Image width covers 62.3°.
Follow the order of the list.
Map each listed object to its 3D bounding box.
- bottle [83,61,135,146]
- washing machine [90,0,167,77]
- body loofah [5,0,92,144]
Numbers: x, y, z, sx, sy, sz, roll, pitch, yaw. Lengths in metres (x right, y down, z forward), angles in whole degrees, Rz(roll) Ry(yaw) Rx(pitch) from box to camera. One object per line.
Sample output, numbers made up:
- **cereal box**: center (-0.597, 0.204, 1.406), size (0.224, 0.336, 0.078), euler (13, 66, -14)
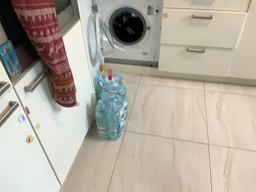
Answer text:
- **bottle**: center (-0.110, 0.030, 1.650), size (0.250, 0.300, 0.620), euler (5, 42, 8)
- **washing machine**: center (0.050, -0.750, 2.100), size (0.600, 0.860, 0.620), euler (7, 42, 10)
- **body loofah**: center (-0.280, -0.180, 0.830), size (0.080, 0.870, 0.240), euler (6, 42, 9)
